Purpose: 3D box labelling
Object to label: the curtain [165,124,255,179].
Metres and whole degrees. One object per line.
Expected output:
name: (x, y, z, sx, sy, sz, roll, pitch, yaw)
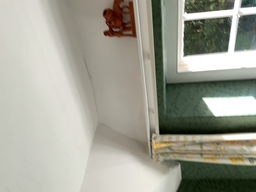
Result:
curtain: (1.020, 0.310, 1.150, 0.430, 1.610, 0.110, 79, -168, -46)
